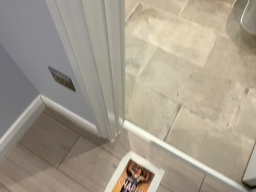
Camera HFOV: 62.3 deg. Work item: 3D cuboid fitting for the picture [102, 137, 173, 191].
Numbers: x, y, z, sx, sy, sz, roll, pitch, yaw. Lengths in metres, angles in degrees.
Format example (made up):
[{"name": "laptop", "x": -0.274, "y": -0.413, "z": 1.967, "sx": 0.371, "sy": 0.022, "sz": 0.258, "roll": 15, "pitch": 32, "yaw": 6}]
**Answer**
[{"name": "picture", "x": 0.050, "y": 0.380, "z": 1.010, "sx": 0.220, "sy": 0.020, "sz": 0.300, "roll": 28, "pitch": 67, "yaw": 12}]
